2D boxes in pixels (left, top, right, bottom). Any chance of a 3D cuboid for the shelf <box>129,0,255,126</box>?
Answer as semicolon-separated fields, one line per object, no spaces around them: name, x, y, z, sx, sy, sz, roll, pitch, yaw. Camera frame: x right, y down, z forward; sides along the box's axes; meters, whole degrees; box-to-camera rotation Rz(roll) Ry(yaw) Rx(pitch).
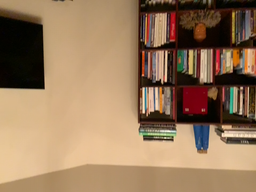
shelf;0.660;-0.660;2.150;1.260;1.850;0.370;0;-178;6
